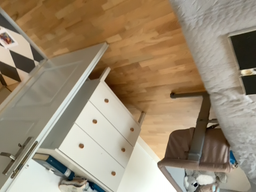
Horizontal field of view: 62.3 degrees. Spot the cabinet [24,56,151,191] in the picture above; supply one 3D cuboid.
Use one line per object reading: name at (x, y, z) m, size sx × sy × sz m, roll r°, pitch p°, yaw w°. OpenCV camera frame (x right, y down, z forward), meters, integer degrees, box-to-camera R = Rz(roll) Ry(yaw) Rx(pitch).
cabinet at (-0.280, 0.260, 2.010) m, size 0.450 × 0.920 × 0.780 m, roll -6°, pitch 134°, yaw 38°
